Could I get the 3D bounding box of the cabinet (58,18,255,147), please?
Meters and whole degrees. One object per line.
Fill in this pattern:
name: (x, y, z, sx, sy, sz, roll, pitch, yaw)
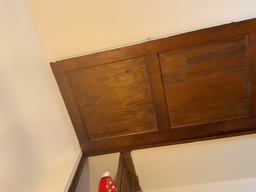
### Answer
cabinet: (0.490, -0.080, 1.280, 0.030, 1.740, 0.630, -79, -23, -67)
